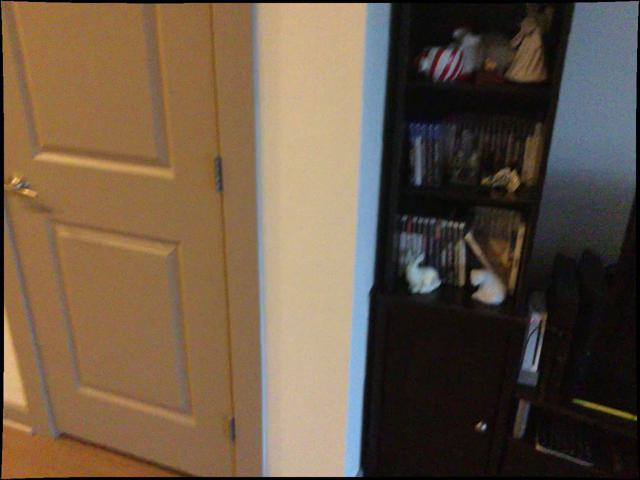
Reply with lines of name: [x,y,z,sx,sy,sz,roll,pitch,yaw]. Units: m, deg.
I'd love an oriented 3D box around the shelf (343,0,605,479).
shelf: [0.379,-0.050,1.560,0.439,1.673,0.440,11,26,18]

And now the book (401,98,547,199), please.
book: [0.389,-0.241,1.450,0.309,0.160,0.230,11,27,18]
